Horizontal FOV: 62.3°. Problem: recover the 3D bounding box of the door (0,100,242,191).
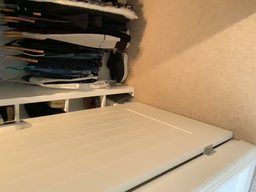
[{"bbox_3d":[-0.380,0.230,0.800,0.820,1.990,0.010,20,110,45],"label":"door"}]
